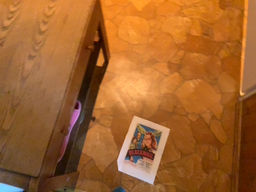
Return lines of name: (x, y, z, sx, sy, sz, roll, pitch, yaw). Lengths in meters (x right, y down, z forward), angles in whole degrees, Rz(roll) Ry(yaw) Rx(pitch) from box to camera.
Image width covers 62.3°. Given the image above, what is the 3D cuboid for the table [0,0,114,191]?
table: (-0.370, 0.010, 0.950, 0.410, 0.540, 0.700, 14, 74, 4)
